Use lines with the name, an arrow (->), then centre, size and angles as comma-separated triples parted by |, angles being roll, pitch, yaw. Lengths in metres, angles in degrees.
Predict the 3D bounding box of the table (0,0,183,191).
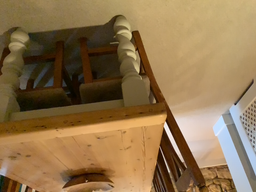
table -> -0.320, 0.320, 1.810 | 0.990, 0.790, 1.920 | -7, 148, -4
